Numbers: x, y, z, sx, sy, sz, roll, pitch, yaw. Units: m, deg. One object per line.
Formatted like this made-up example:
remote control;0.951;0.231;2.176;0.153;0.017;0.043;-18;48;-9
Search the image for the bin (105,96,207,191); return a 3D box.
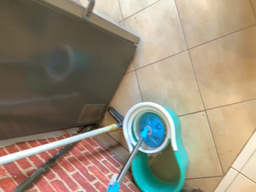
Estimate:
bin;0.140;0.270;1.070;0.310;0.250;0.460;-23;79;27
